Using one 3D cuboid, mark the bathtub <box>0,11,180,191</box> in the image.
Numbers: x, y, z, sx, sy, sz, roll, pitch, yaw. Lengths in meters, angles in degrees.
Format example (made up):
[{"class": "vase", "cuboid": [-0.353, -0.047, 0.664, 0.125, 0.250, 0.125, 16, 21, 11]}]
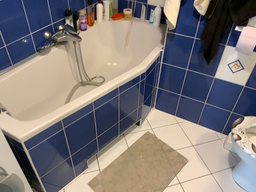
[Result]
[{"class": "bathtub", "cuboid": [-0.240, -0.080, 1.720, 0.760, 0.610, 1.570, 21, 44, 19]}]
